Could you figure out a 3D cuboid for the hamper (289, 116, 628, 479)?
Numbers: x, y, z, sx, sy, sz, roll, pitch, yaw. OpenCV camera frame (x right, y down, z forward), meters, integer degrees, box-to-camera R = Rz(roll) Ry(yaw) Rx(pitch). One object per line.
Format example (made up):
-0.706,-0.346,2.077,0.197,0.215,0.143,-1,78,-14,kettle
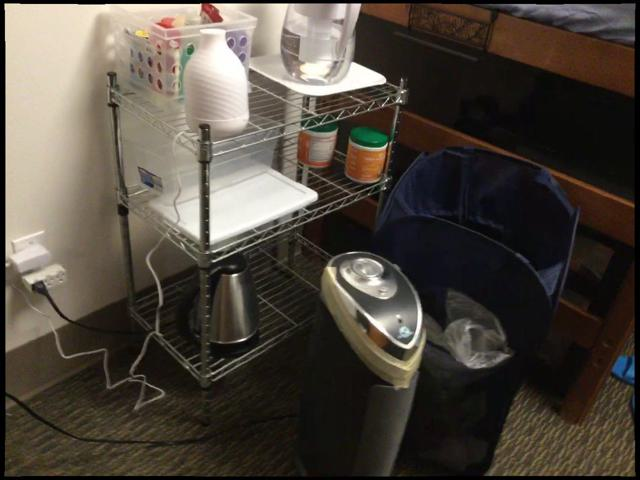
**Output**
0.309,0.160,1.380,0.489,0.651,0.530,25,38,20,hamper
